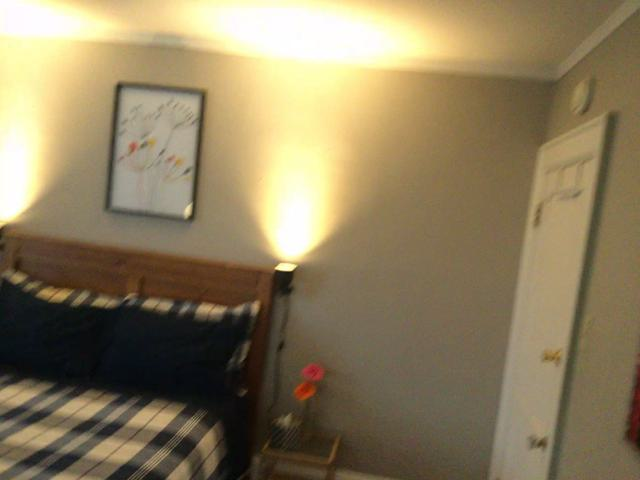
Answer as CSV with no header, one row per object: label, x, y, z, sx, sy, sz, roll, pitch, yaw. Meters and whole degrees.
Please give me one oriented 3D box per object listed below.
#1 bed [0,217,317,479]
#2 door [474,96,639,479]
bed,-1.220,0.730,2.260,1.890,1.410,2.190,10,2,8
door,0.920,0.580,2.510,0.130,2.160,1.050,10,2,8
